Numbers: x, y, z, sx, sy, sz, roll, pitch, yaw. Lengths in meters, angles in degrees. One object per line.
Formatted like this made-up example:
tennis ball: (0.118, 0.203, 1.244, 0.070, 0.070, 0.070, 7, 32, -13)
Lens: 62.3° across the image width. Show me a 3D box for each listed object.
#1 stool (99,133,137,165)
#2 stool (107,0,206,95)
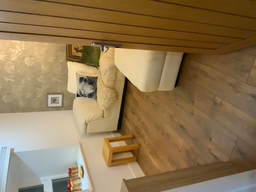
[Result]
stool: (-0.150, 0.750, 3.040, 0.280, 0.450, 0.300, -135, 49, -57)
stool: (0.200, -0.620, 2.230, 0.930, 0.460, 0.900, -132, 47, -55)
